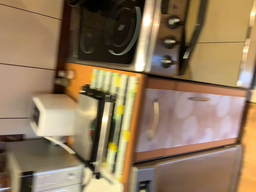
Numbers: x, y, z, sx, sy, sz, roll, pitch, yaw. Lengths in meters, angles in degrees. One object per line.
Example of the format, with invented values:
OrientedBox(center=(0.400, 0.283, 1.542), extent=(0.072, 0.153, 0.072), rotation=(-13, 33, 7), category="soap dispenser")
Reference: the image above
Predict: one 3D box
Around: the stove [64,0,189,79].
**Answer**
OrientedBox(center=(-0.050, -0.360, 0.890), extent=(0.620, 0.150, 0.490), rotation=(17, 101, 50), category="stove")
